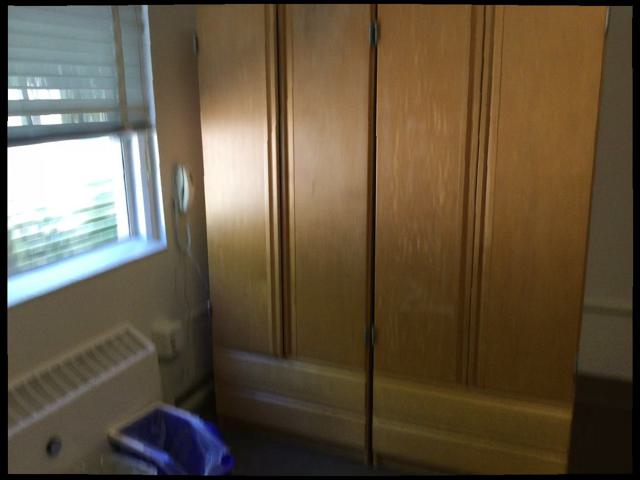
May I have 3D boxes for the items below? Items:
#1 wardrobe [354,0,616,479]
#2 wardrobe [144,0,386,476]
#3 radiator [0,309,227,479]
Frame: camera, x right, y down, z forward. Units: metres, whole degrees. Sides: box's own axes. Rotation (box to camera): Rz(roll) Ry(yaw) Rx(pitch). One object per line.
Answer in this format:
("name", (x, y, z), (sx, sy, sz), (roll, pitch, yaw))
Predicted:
("wardrobe", (0.749, 0.000, 2.490), (0.779, 1.964, 1.080), (5, 15, 28))
("wardrobe", (-0.220, -0.010, 2.460), (0.979, 1.893, 0.190), (5, 15, 28))
("radiator", (-0.888, 0.781, 1.960), (0.389, 0.671, 1.290), (5, 15, 28))
